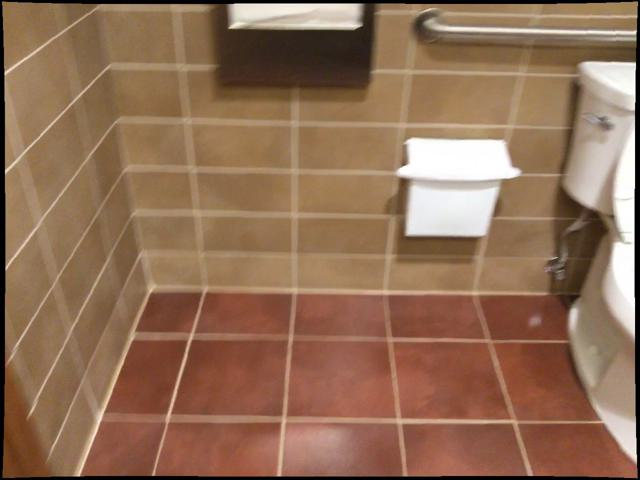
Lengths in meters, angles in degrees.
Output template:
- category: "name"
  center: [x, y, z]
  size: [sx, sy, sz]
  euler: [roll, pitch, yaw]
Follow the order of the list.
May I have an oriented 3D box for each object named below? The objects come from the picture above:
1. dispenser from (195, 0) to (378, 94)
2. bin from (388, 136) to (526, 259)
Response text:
- category: "dispenser"
  center: [-0.080, -0.531, 1.460]
  size: [0.440, 0.300, 0.070]
  euler: [1, 36, 1]
- category: "bin"
  center: [0.380, -0.120, 1.680]
  size: [0.330, 0.330, 0.130]
  euler: [1, 36, 1]
